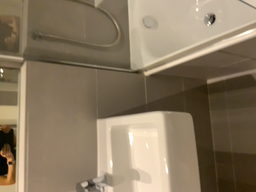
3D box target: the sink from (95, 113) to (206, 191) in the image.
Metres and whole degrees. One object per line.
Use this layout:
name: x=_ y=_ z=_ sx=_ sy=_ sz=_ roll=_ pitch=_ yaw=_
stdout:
sink: x=0.060 y=0.580 z=0.790 sx=0.470 sy=0.170 sz=1.000 roll=-15 pitch=75 yaw=56
